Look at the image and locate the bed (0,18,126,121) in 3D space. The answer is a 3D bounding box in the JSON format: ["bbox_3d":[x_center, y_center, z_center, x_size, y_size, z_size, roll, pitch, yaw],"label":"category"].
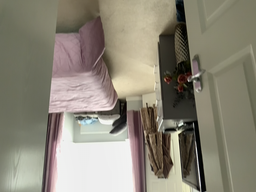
[{"bbox_3d":[-1.300,-0.150,2.890,2.380,0.590,1.850,-2,163,4],"label":"bed"}]
